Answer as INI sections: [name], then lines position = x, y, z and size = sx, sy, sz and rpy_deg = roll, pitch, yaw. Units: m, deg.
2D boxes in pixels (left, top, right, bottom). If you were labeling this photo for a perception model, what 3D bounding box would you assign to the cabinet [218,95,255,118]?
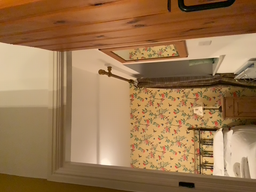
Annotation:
[cabinet]
position = 1.960, 0.170, 3.510
size = 0.410, 0.810, 0.350
rpy_deg = -2, -87, -72
